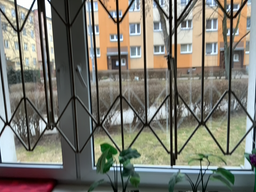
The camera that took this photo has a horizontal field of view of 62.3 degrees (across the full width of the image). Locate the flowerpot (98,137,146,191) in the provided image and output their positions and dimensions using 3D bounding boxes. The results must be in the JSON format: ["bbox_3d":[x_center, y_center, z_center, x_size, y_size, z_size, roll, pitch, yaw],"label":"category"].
[{"bbox_3d":[-0.020,0.440,1.180,0.210,0.350,0.230,0,9,12],"label":"flowerpot"}]

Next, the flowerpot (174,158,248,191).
[{"bbox_3d":[0.440,0.470,1.170,0.360,0.190,0.130,0,9,11],"label":"flowerpot"}]

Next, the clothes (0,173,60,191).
[{"bbox_3d":[-0.670,0.550,1.210,0.460,0.080,0.280,-2,8,3],"label":"clothes"}]
